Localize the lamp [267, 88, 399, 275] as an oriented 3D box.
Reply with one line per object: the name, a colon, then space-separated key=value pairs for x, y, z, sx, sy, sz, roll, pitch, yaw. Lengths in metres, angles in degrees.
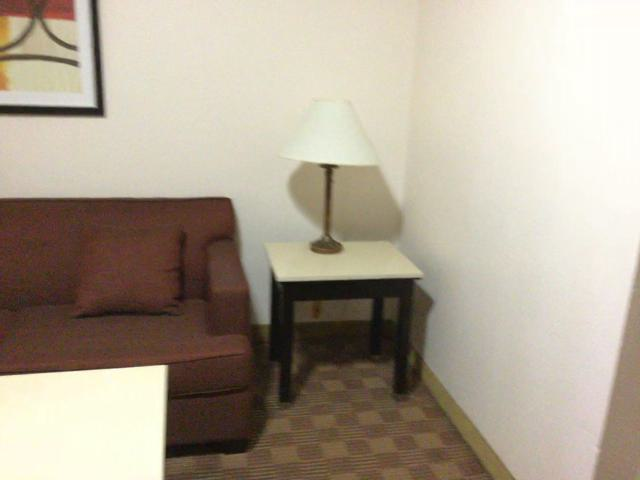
lamp: x=0.030 y=-0.260 z=2.450 sx=0.440 sy=0.720 sz=0.380 roll=-1 pitch=15 yaw=-14

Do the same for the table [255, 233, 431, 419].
table: x=0.060 y=0.350 z=2.650 sx=0.630 sy=0.620 sz=0.620 roll=-1 pitch=15 yaw=-13

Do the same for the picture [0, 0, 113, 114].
picture: x=-1.400 y=-0.920 z=2.260 sx=1.070 sy=0.790 sz=0.140 roll=-1 pitch=15 yaw=-14
